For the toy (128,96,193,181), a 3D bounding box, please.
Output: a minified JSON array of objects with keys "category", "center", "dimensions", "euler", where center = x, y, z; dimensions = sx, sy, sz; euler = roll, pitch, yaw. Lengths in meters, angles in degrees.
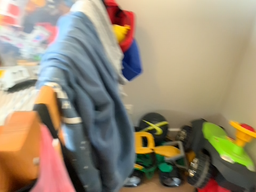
[{"category":"toy","center":[0.170,0.270,1.370],"dimensions":[0.330,0.360,0.390],"euler":[-1,41,-1]}]
